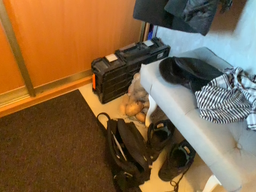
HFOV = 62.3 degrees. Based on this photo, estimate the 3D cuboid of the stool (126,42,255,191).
[{"bbox_3d":[0.360,0.150,1.090,0.430,0.480,0.640,-21,56,-23],"label":"stool"}]
